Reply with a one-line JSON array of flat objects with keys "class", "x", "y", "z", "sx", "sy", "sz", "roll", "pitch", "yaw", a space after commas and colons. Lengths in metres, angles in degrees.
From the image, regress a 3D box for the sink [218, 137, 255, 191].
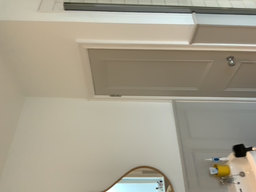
[{"class": "sink", "x": 0.870, "y": 0.640, "z": 1.490, "sx": 0.450, "sy": 0.170, "sz": 0.550, "roll": 94, "pitch": 176, "yaw": -55}]
